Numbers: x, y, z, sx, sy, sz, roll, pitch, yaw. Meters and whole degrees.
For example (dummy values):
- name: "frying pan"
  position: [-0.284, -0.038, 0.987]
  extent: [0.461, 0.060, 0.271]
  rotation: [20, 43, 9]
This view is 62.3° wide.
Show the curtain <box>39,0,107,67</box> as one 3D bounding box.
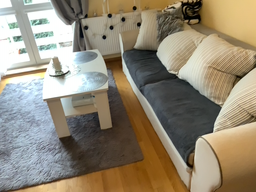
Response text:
- name: "curtain"
  position: [-0.850, -1.590, 2.920]
  extent: [0.810, 2.330, 0.270]
  rotation: [-11, 32, -9]
